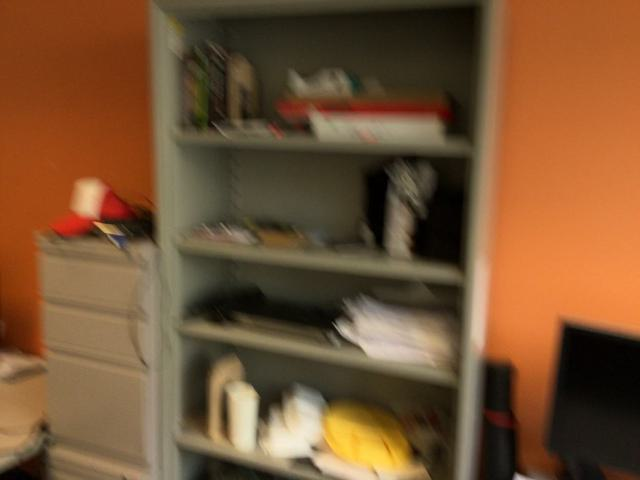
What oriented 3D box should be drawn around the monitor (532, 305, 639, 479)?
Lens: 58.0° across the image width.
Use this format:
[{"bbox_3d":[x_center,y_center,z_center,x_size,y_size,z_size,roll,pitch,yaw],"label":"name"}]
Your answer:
[{"bbox_3d":[0.860,0.460,1.400,0.600,0.480,0.200,7,10,21],"label":"monitor"}]
